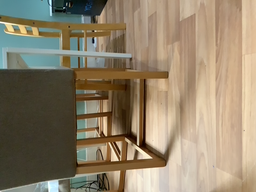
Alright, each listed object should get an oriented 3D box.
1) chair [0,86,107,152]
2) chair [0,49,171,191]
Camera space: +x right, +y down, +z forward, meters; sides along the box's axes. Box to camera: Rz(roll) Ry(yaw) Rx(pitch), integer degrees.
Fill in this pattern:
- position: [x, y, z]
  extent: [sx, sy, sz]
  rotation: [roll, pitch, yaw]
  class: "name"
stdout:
- position: [-0.730, 0.190, 2.150]
  extent: [0.590, 0.890, 0.510]
  rotation: [173, 94, -70]
  class: "chair"
- position: [-0.340, 0.080, 1.040]
  extent: [0.570, 0.910, 0.510]
  rotation: [-173, 81, -70]
  class: "chair"
